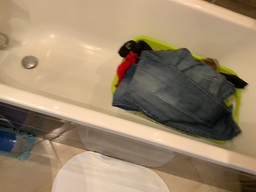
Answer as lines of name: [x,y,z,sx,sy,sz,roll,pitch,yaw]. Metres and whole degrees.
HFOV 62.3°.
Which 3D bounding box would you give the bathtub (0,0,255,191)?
bathtub: [0.020,-0.070,1.060,1.660,0.600,0.700,18,65,-5]
